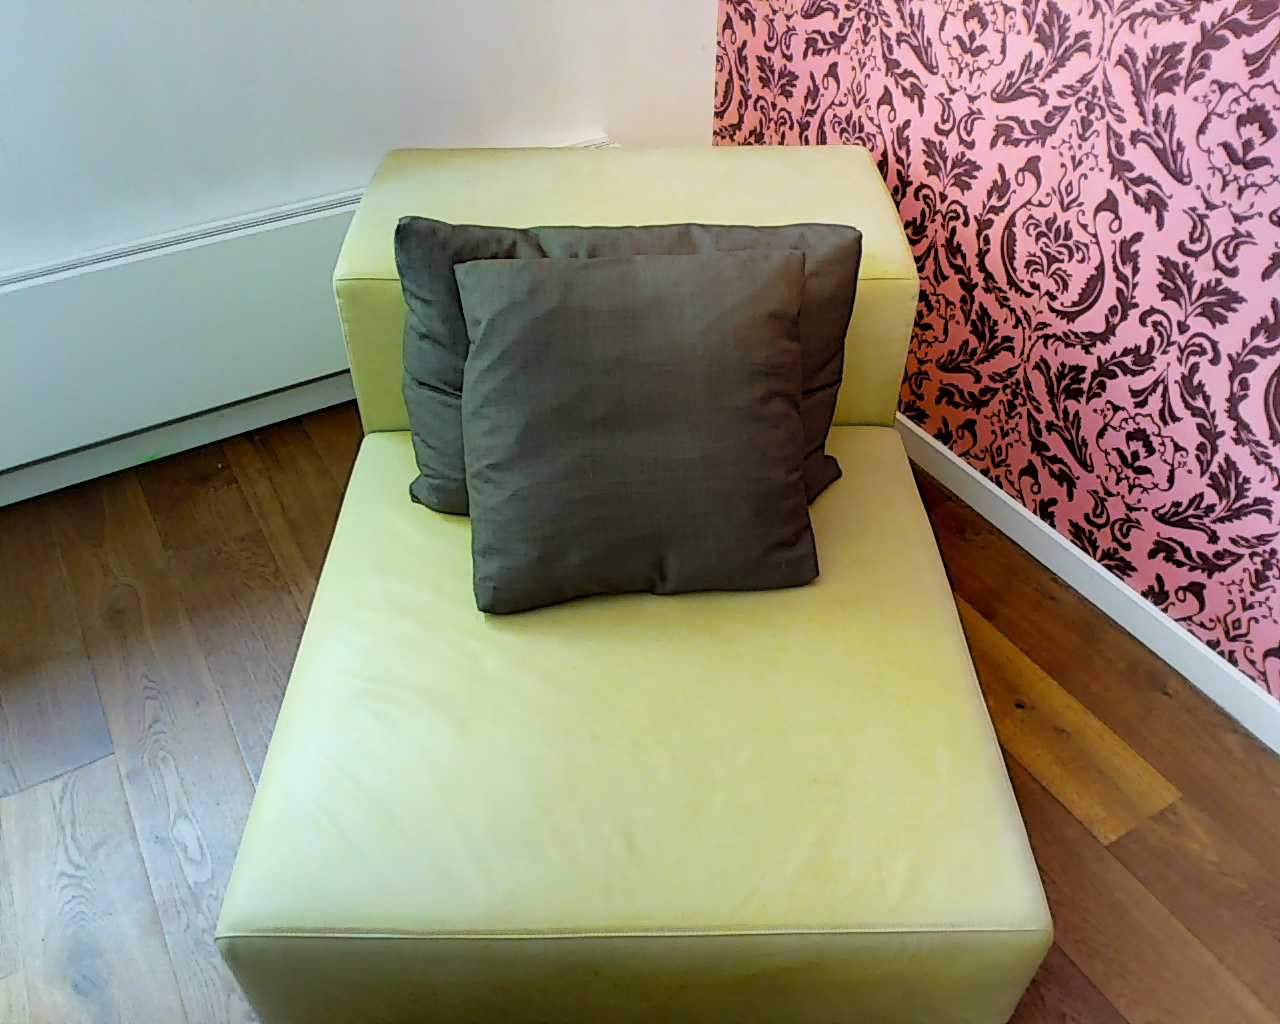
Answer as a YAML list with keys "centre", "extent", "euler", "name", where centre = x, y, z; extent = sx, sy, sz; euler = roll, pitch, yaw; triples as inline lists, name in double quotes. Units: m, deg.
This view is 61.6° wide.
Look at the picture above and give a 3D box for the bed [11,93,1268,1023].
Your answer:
- centre: [-0.010, -0.050, 1.720]
  extent: [1.060, 0.660, 1.580]
  euler: [-1, 41, -1]
  name: "bed"
